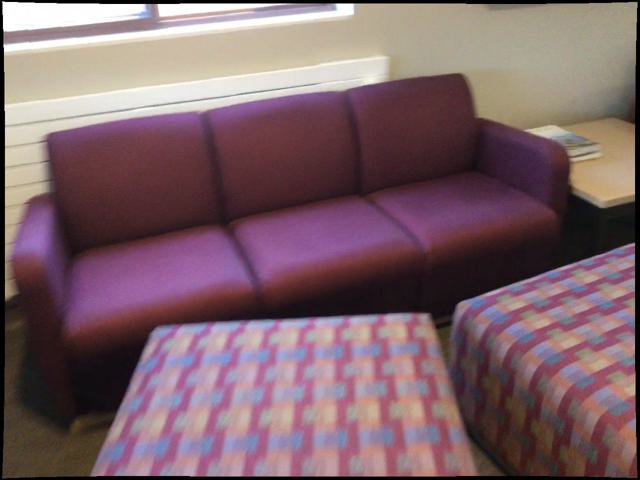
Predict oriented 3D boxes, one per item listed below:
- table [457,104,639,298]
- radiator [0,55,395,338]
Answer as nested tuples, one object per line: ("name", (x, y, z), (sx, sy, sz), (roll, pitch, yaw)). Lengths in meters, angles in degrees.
("table", (1.227, -0.241, 2.590), (0.828, 0.441, 0.880), (-13, 28, -16))
("radiator", (-0.549, -0.190, 2.350), (1.846, 0.862, 0.090), (-13, 28, -16))
